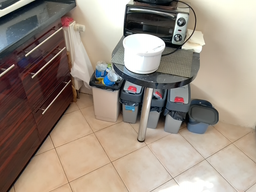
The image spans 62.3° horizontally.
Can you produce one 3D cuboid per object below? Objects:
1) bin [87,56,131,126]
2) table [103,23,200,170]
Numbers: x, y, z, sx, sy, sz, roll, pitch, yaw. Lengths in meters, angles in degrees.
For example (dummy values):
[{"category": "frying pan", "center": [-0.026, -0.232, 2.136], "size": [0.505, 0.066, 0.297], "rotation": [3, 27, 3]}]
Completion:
[{"category": "bin", "center": [-0.150, -0.040, 1.810], "size": [0.270, 0.480, 0.290], "rotation": [11, 40, 8]}, {"category": "table", "center": [0.160, 0.000, 1.530], "size": [0.490, 0.770, 0.610], "rotation": [12, 41, 9]}]
